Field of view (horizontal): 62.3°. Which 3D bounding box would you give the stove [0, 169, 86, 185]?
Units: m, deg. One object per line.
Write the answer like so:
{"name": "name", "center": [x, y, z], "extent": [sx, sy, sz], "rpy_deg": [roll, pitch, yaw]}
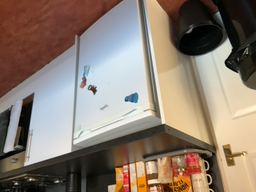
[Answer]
{"name": "stove", "center": [-0.790, 0.700, 1.800], "extent": [0.630, 0.030, 0.570], "rpy_deg": [-23, 148, 32]}
